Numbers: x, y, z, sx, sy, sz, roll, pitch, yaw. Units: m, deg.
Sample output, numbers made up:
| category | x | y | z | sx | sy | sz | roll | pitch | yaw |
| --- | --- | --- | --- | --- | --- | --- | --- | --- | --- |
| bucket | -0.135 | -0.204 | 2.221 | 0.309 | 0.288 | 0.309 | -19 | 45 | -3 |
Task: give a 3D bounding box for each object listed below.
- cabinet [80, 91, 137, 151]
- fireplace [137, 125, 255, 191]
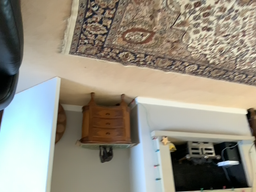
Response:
| category | x | y | z | sx | sy | sz | roll | pitch | yaw |
| --- | --- | --- | --- | --- | --- | --- | --- | --- | --- |
| cabinet | -0.250 | 0.320 | 2.540 | 0.540 | 0.580 | 0.430 | 7 | 154 | -22 |
| fireplace | 0.920 | 0.870 | 2.680 | 1.470 | 0.810 | 0.500 | 7 | 154 | -22 |
